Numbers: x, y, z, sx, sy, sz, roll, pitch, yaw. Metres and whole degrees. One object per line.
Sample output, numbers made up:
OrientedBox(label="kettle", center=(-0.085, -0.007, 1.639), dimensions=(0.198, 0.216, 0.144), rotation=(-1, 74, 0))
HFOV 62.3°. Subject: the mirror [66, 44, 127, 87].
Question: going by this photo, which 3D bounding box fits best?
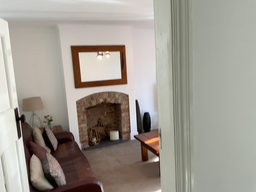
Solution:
OrientedBox(label="mirror", center=(-0.620, -0.660, 4.420), dimensions=(1.240, 0.820, 0.060), rotation=(-8, 9, -25))
